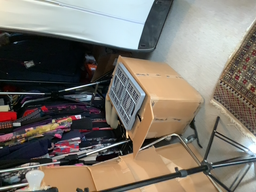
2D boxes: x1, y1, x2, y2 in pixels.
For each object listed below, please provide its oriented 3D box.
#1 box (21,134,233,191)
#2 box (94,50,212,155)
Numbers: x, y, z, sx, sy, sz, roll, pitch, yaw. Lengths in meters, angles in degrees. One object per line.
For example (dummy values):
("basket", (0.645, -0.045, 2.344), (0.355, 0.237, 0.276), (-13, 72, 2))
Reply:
("box", (0.030, 0.640, 1.430), (0.460, 1.300, 0.450), (53, 132, 44))
("box", (0.160, 0.020, 1.870), (0.720, 0.620, 0.520), (52, 132, 44))
